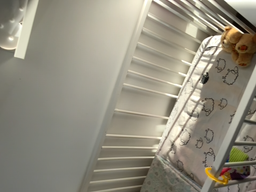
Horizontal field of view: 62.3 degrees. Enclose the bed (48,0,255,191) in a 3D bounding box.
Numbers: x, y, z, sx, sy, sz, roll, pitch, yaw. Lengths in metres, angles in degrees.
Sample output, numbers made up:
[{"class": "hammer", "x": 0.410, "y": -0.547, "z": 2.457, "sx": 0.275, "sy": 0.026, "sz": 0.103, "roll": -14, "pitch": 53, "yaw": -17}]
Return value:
[{"class": "bed", "x": 0.320, "y": 0.190, "z": 1.120, "sx": 0.690, "sy": 0.990, "sz": 1.250, "roll": 33, "pitch": 107, "yaw": 50}]
